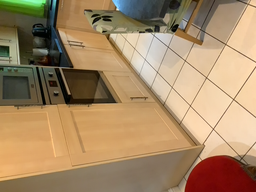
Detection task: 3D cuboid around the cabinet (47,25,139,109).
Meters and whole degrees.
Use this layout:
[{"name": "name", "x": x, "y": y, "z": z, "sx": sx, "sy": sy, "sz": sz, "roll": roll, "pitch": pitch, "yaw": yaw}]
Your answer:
[{"name": "cabinet", "x": -0.560, "y": -0.420, "z": 2.970, "sx": 1.110, "sy": 0.880, "sz": 0.600, "roll": 56, "pitch": 136, "yaw": 43}]

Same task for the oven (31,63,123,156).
[{"name": "oven", "x": -0.560, "y": 0.110, "z": 2.160, "sx": 0.630, "sy": 0.690, "sz": 0.600, "roll": 56, "pitch": 136, "yaw": 43}]
